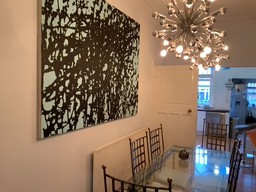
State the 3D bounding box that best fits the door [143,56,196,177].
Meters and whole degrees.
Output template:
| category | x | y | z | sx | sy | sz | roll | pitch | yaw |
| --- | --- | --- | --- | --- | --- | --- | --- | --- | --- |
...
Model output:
| category | x | y | z | sx | sy | sz | roll | pitch | yaw |
| --- | --- | --- | --- | --- | --- | --- | --- | --- | --- |
| door | 0.800 | 0.370 | 4.230 | 0.970 | 2.250 | 0.160 | 3 | 3 | 28 |
